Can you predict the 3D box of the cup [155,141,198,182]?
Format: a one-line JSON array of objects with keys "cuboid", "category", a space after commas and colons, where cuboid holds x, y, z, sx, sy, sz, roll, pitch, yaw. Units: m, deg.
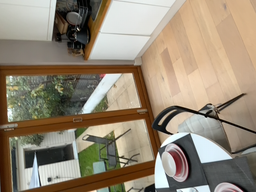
[{"cuboid": [0.340, 0.480, 1.540, 0.280, 0.110, 0.230, -47, 53, 57], "category": "cup"}]
